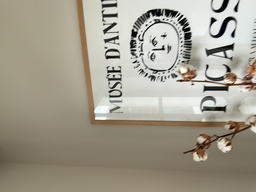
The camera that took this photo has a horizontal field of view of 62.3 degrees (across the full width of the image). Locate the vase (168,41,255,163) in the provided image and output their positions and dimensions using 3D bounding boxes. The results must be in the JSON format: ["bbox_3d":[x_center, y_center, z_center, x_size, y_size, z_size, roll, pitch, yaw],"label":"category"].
[{"bbox_3d":[0.530,0.010,0.790,0.260,0.730,0.390,-70,-21,-68],"label":"vase"}]
